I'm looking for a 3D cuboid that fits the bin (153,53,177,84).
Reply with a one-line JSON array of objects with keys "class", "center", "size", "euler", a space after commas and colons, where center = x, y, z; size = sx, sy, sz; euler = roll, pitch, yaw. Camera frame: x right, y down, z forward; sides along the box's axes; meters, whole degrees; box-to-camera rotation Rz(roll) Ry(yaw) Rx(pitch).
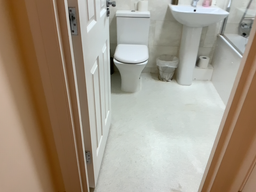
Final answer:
[{"class": "bin", "center": [0.460, -0.350, 2.670], "size": [0.250, 0.280, 0.250], "euler": [6, 33, 6]}]
